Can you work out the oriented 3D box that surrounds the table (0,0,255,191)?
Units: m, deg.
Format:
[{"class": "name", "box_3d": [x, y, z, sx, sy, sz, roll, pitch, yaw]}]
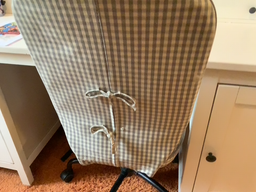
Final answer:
[{"class": "table", "box_3d": [-0.090, 0.000, 1.050, 1.590, 0.730, 0.700, 7, 33, 11]}]

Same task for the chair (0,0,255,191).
[{"class": "chair", "box_3d": [-0.020, 0.040, 0.820, 0.640, 0.900, 0.690, 8, 33, 12]}]
